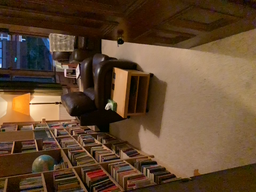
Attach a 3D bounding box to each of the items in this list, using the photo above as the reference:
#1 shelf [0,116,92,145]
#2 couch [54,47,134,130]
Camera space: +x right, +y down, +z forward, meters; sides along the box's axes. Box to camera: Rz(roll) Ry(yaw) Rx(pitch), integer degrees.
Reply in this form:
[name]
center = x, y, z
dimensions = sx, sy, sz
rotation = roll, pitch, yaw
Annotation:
[shelf]
center = -1.920, 0.750, 4.950
dimensions = 0.850, 1.970, 0.370
rotation = 7, 97, 63
[couch]
center = -0.650, -0.200, 3.570
dimensions = 1.170, 0.960, 1.110
rotation = 27, 114, 60
